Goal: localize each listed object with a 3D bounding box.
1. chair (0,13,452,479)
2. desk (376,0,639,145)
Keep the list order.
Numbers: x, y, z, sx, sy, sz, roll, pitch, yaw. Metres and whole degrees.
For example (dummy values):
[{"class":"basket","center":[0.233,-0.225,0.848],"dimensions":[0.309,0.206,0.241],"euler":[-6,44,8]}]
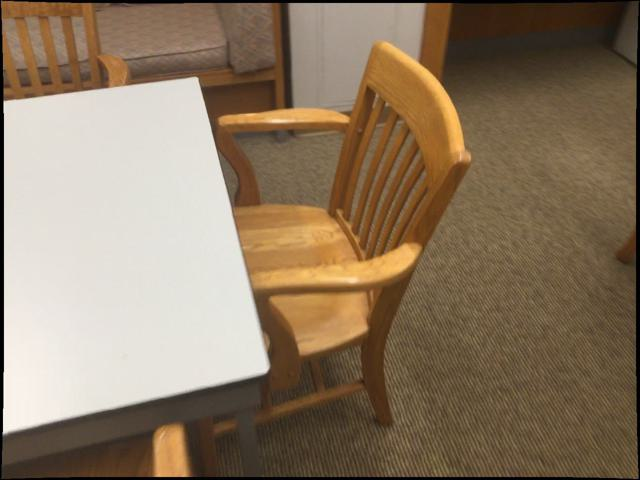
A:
[{"class":"chair","center":[-0.150,0.090,1.340],"dimensions":[0.679,0.821,0.641],"euler":[-18,46,-3]},{"class":"desk","center":[1.187,-1.163,2.720],"dimensions":[1.726,0.871,0.610],"euler":[-14,39,-6]}]
